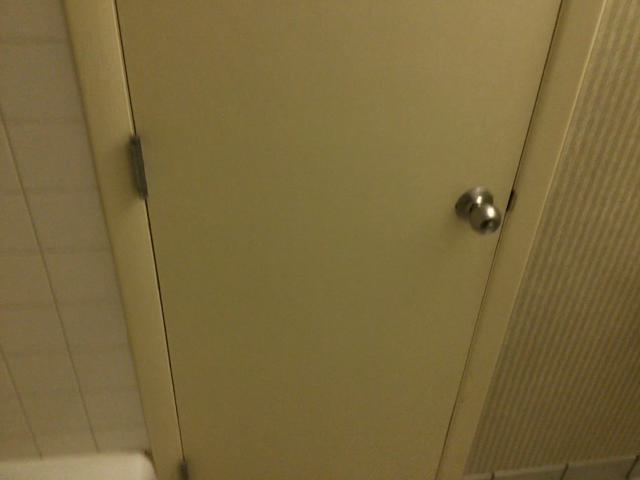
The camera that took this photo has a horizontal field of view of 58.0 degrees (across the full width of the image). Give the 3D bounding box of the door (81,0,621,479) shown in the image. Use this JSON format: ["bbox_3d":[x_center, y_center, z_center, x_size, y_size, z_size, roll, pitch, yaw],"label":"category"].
[{"bbox_3d":[0.030,-0.060,0.900,0.670,1.880,0.070,-1,35,-11],"label":"door"}]
